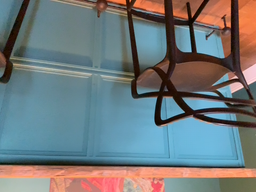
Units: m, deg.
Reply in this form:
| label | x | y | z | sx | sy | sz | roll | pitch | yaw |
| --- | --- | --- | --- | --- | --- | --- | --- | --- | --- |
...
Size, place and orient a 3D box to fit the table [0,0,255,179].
| label | x | y | z | sx | sy | sz | roll | pitch | yaw |
| --- | --- | --- | --- | --- | --- | --- | --- | --- | --- |
| table | -0.270 | -0.060 | 1.390 | 2.140 | 1.110 | 0.620 | 6 | 158 | -17 |
